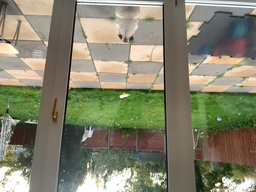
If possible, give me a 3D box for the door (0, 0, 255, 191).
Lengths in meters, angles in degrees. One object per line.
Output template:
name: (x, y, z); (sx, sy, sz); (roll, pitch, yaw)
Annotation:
door: (-0.150, 0.140, 1.530); (2.790, 2.240, 0.100); (2, 165, -5)
